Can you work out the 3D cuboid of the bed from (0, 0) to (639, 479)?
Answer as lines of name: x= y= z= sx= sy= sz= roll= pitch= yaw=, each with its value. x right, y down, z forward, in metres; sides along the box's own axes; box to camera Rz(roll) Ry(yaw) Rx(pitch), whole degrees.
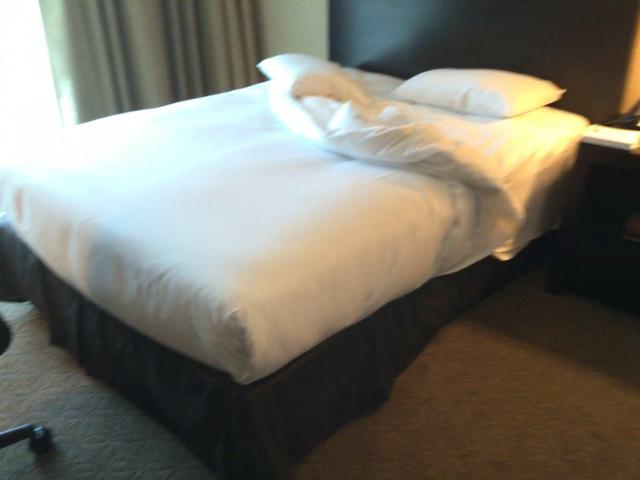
bed: x=-0.050 y=-0.500 z=2.220 sx=1.740 sy=1.540 sz=2.160 roll=22 pitch=35 yaw=38
